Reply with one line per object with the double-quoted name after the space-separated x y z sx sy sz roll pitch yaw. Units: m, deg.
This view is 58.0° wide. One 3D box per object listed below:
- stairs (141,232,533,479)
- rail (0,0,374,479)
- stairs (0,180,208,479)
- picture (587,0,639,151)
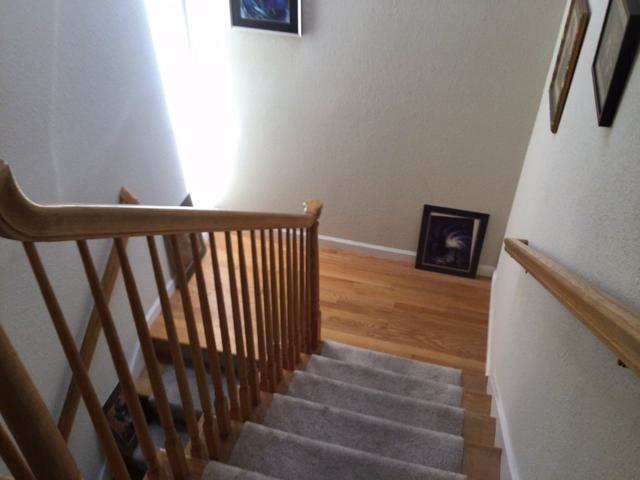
0.200 0.680 2.270 1.130 0.840 1.120 4 42 17 "stairs"
-0.210 0.100 1.990 0.310 1.930 1.630 4 42 17 "rail"
-1.110 0.570 2.850 0.220 0.920 1.660 4 42 17 "stairs"
0.790 -0.500 1.540 0.070 0.350 0.410 4 42 17 "picture"
